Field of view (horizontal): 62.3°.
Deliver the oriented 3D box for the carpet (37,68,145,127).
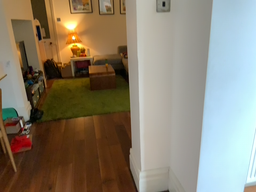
[{"bbox_3d":[-0.780,-0.160,4.330,1.530,0.120,2.770,-6,20,-11],"label":"carpet"}]
